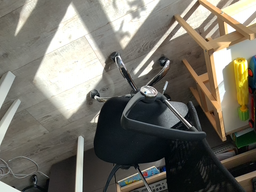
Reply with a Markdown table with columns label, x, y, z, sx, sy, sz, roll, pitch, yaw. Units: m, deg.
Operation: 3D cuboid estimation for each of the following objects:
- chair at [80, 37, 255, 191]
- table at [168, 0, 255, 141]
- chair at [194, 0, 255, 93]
| label | x | y | z | sx | sy | sz | roll | pitch | yaw |
| --- | --- | --- | --- | --- | --- | --- | --- | --- | --- |
| chair | 0.070 | 0.230 | 1.150 | 0.570 | 0.990 | 0.630 | 6 | 127 | -16 |
| table | 0.620 | -0.190 | 1.270 | 0.480 | 0.460 | 0.710 | -22 | 129 | 6 |
| chair | 0.620 | -0.350 | 1.120 | 0.300 | 0.500 | 0.350 | -24 | 129 | 8 |
